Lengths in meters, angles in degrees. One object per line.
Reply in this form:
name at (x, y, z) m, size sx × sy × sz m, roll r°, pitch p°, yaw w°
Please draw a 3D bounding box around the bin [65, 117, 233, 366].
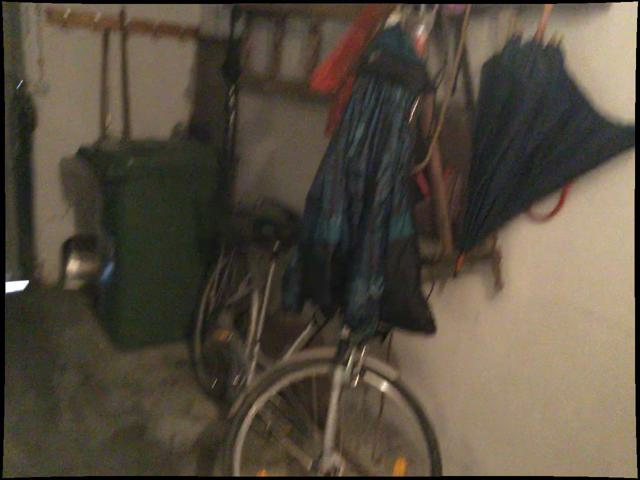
bin at (-0.899, -0.030, 3.050) m, size 0.699 × 1.141 × 0.520 m, roll -6°, pitch 21°, yaw -28°
